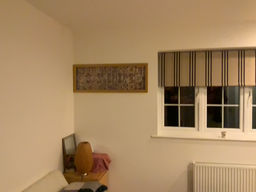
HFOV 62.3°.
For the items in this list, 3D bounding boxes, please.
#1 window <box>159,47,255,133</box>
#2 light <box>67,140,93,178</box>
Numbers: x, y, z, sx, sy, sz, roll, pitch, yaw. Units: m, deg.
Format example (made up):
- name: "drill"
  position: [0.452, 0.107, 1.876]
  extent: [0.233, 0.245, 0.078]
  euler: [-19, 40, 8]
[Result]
- name: "window"
  position: [1.250, -0.070, 2.850]
  extent: [1.650, 1.120, 0.060]
  euler: [0, 1, 9]
- name: "light"
  position: [-0.580, 0.760, 2.600]
  extent: [0.250, 0.390, 0.190]
  euler: [0, 1, 11]
